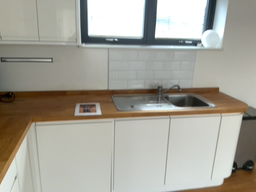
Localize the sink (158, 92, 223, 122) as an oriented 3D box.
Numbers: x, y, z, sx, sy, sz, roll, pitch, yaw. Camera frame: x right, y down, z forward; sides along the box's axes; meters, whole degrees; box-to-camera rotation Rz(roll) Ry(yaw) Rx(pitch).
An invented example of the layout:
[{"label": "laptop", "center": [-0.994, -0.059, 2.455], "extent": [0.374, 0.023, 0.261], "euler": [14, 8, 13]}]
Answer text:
[{"label": "sink", "center": [0.640, 0.100, 2.270], "extent": [0.480, 0.150, 0.510], "euler": [-1, 17, -10]}]
